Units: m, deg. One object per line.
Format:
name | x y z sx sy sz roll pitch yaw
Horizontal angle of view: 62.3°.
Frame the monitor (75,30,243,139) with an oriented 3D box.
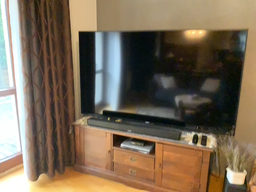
monitor | 0.200 -0.160 2.210 1.660 0.980 0.090 6 14 20
